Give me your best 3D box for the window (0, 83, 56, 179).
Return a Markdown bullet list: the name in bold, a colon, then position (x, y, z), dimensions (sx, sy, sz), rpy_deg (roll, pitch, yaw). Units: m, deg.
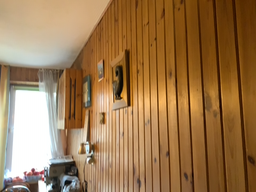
- **window**: position (-1.520, 0.510, 3.240), dimensions (0.720, 1.340, 0.170), rpy_deg (4, -9, -26)
